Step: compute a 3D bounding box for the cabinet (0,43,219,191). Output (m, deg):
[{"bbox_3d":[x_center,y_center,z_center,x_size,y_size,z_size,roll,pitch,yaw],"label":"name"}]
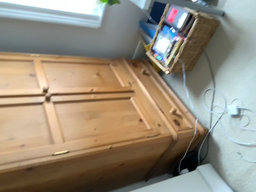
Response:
[{"bbox_3d":[-0.500,0.200,1.570,1.090,2.000,0.640,58,139,37],"label":"cabinet"}]
